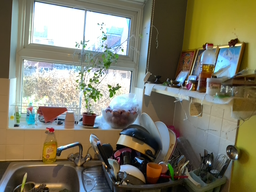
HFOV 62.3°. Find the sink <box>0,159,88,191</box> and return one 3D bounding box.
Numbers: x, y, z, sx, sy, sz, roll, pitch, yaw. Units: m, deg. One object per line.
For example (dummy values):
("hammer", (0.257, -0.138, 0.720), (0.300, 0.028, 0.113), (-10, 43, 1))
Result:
("sink", (-0.430, 0.520, 1.100), (0.390, 0.190, 0.460), (4, 6, -19))
